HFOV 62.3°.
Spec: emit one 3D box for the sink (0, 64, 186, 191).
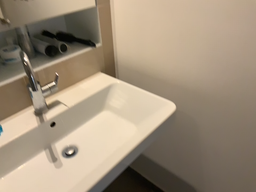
[{"bbox_3d":[-0.200,0.150,0.790,0.480,0.140,0.780,26,43,33],"label":"sink"}]
